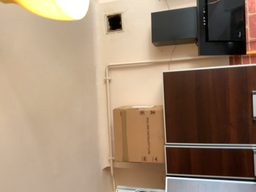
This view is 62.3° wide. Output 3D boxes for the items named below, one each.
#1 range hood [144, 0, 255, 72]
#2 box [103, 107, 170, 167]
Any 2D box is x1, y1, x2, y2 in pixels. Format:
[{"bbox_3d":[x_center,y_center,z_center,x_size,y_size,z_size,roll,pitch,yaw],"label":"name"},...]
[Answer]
[{"bbox_3d":[0.500,-0.510,1.530,0.260,0.720,0.590,0,-92,-73],"label":"range hood"},{"bbox_3d":[0.080,0.300,1.660,0.290,0.440,0.380,-20,-73,-73],"label":"box"}]
